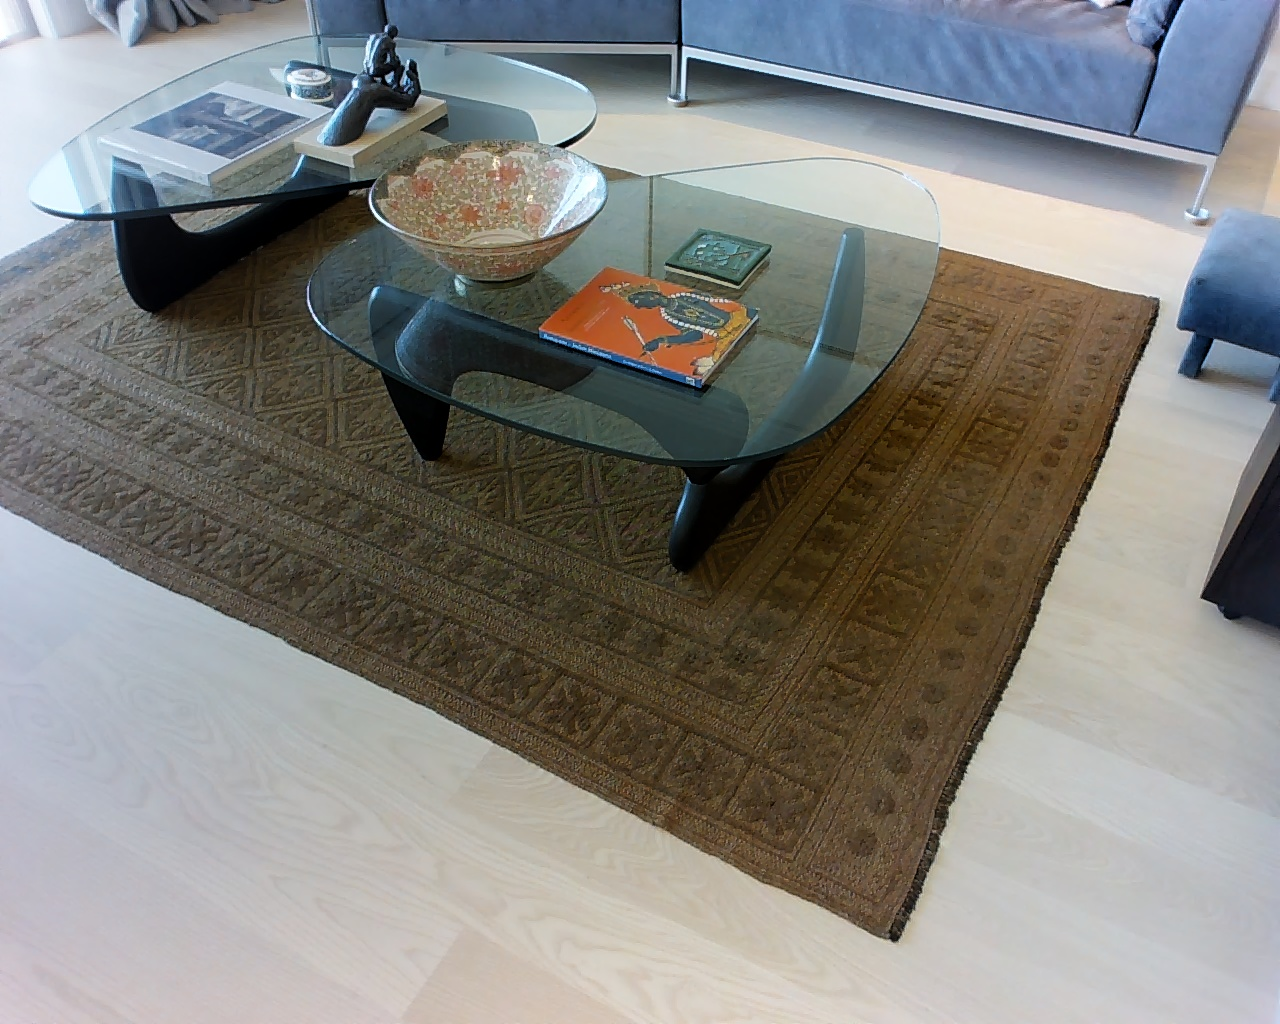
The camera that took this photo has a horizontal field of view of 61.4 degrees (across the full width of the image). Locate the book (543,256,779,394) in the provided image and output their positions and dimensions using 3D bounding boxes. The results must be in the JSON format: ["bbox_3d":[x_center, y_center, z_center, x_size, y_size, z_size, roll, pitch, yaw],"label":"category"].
[{"bbox_3d":[0.040,-0.330,1.860,0.330,0.040,0.250,18,45,18],"label":"book"}]
